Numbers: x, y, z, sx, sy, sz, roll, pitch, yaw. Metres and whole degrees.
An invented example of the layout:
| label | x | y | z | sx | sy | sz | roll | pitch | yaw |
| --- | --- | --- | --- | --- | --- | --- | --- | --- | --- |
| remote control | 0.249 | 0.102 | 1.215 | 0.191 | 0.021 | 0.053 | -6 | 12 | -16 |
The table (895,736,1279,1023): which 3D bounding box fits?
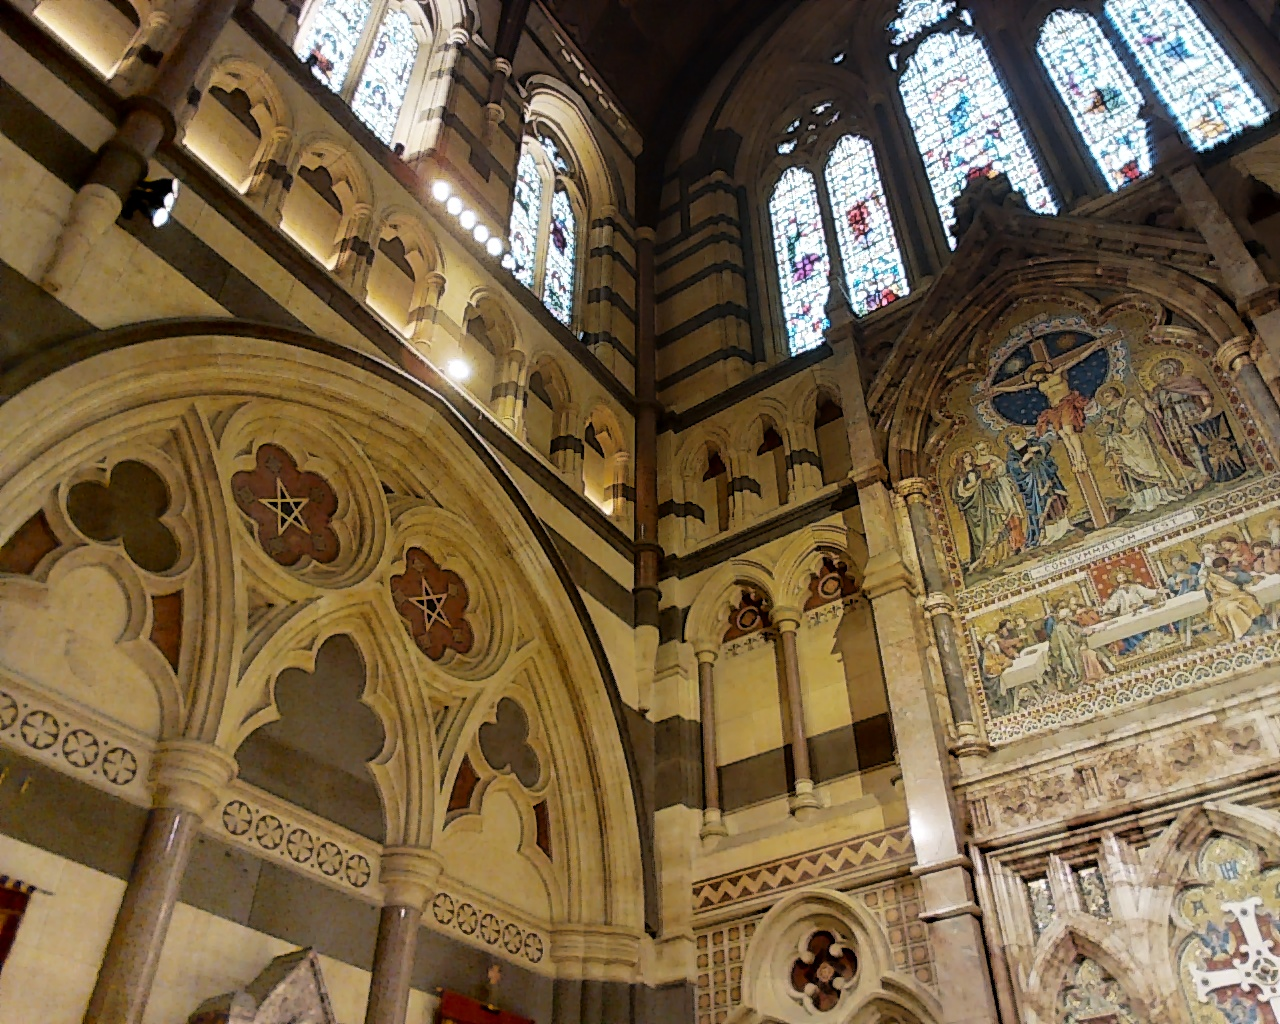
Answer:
| label | x | y | z | sx | sy | sz | roll | pitch | yaw |
| --- | --- | --- | --- | --- | --- | --- | --- | --- | --- |
| table | 4.187 | 3.913 | 6.720 | 4.588 | 4.862 | 0.710 | -26 | -50 | 26 |
